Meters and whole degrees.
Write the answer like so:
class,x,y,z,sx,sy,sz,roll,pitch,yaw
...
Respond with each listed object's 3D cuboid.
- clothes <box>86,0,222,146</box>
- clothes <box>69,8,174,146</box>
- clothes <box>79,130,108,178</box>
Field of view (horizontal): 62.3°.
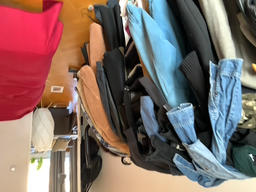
class,x,y,z,sx,sy,sz,roll,pitch,yaw
clothes,0.140,-0.270,1.660,0.760,1.210,0.480,5,158,-30
clothes,-0.100,-0.130,2.040,0.790,1.120,0.440,6,158,-31
clothes,-0.580,0.940,3.370,0.330,0.640,0.710,0,160,-18
